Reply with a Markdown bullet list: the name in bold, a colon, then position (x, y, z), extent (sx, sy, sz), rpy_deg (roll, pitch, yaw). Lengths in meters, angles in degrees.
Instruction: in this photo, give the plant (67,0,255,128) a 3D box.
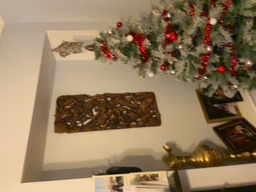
- **plant**: position (0.480, -0.390, 1.670), extent (0.850, 1.680, 0.900), rpy_deg (96, 169, -58)
